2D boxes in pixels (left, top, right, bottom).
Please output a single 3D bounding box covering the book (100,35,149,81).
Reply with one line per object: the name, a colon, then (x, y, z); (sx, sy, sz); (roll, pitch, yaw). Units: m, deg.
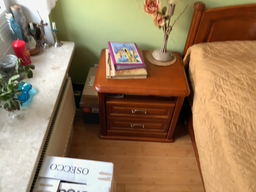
book: (-0.020, -0.250, 1.330); (0.270, 0.070, 0.370); (2, 45, -1)
